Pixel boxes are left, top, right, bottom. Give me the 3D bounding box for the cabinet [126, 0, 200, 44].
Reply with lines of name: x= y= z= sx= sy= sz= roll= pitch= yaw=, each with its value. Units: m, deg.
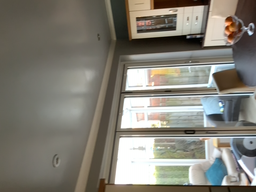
cabinet: x=0.610 y=-1.320 z=3.830 sx=0.260 sy=1.230 sz=0.620 roll=-86 pitch=-9 yaw=-46
